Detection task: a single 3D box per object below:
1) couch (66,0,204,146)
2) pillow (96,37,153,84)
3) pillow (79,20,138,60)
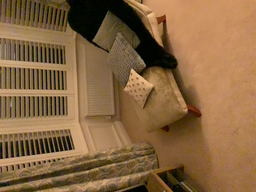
[{"bbox_3d":[-0.010,-0.350,2.140,0.590,0.890,1.460,-41,57,50],"label":"couch"},{"bbox_3d":[-0.060,-0.350,2.180,0.470,0.460,0.200,-18,80,-15],"label":"pillow"},{"bbox_3d":[-0.180,-0.560,2.200,0.500,0.430,0.120,-16,82,10],"label":"pillow"}]
